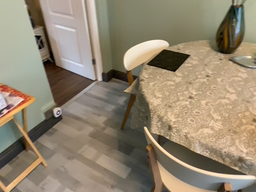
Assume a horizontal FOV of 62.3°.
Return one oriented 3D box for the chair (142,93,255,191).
[{"bbox_3d":[0.360,0.480,1.140,0.390,0.800,0.450,23,43,29],"label":"chair"}]
